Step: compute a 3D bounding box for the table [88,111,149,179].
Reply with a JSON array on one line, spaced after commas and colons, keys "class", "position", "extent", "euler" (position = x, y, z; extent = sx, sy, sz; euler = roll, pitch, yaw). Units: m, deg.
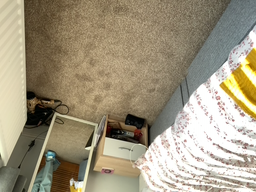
[{"class": "table", "position": [-0.090, 0.450, 1.910], "extent": [0.410, 0.390, 0.420], "euler": [14, 137, -13]}]
